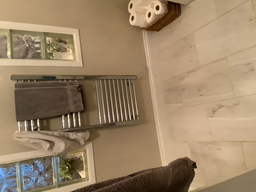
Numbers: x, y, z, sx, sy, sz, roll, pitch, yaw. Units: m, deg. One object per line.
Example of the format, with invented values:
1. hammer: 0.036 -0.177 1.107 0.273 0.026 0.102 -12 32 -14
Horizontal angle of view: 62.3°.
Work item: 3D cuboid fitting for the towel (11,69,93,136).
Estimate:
1. towel: -0.560 0.040 1.570 0.180 0.510 0.430 -24 72 57
